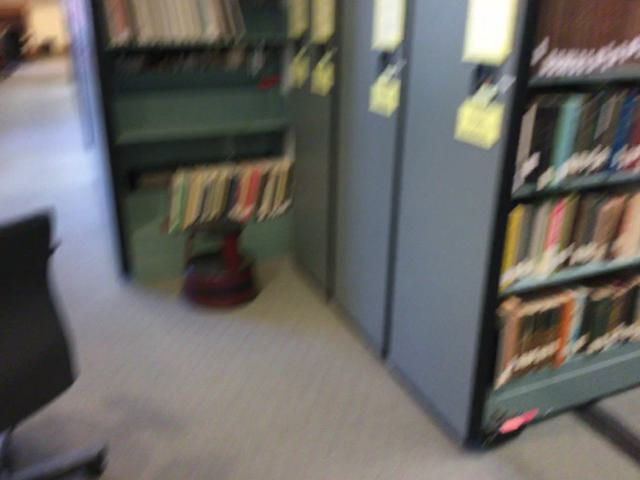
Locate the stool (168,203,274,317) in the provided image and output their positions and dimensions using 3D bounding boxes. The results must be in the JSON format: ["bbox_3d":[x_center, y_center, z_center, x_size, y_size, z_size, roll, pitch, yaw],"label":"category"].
[{"bbox_3d":[-0.510,0.080,2.930,0.410,0.370,0.510,-8,21,-19],"label":"stool"}]

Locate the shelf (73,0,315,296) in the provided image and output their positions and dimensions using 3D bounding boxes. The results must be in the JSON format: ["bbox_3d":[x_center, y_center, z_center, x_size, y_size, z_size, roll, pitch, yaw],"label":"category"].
[{"bbox_3d":[-0.670,-1.060,2.950,1.040,2.460,0.700,-8,21,-19],"label":"shelf"}]
